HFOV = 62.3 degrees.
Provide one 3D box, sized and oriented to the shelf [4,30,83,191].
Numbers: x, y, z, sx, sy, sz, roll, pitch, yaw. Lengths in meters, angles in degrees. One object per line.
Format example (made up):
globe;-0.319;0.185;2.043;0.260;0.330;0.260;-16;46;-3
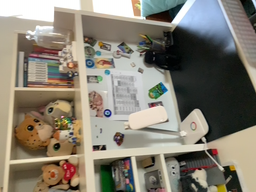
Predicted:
shelf;-0.390;0.150;1.010;0.190;0.280;0.980;128;138;-57
